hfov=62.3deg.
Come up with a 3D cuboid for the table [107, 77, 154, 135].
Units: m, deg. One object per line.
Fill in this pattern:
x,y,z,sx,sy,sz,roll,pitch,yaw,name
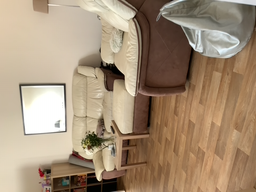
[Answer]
0.000,0.120,3.110,0.590,0.480,0.650,-127,39,-62,table
